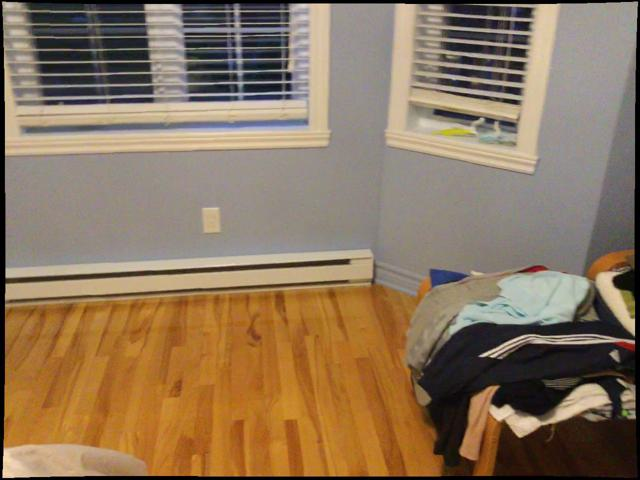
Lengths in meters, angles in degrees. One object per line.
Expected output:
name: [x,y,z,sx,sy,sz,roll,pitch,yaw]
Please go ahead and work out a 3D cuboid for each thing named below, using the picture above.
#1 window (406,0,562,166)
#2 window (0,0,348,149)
window: [0.579,-0.961,1.960,0.440,1.331,0.240,19,32,34]
window: [-0.579,-1.061,2.090,1.349,1.381,0.210,-4,26,-5]
